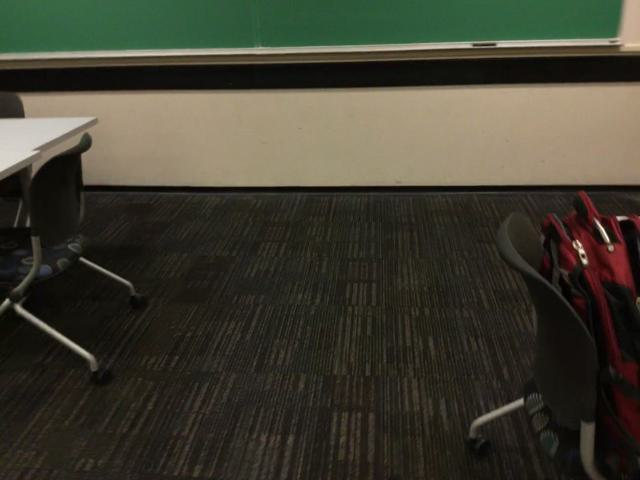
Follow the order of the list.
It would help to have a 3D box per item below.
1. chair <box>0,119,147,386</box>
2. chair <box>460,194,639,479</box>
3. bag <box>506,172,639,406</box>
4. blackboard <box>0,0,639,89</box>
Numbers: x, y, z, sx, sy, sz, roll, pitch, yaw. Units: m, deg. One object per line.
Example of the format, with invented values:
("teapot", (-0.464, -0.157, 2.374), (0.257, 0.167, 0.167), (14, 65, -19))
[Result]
("chair", (-1.070, 0.020, 2.240), (0.620, 0.860, 0.570), (4, 19, -2))
("chair", (0.710, 0.340, 1.360), (0.660, 0.760, 0.680), (-2, 16, 8))
("bag", (0.560, 0.070, 1.160), (0.290, 0.330, 0.410), (4, 18, 11))
("blackboard", (-0.100, -1.630, 3.210), (4.350, 1.480, 0.380), (2, 17, 6))
